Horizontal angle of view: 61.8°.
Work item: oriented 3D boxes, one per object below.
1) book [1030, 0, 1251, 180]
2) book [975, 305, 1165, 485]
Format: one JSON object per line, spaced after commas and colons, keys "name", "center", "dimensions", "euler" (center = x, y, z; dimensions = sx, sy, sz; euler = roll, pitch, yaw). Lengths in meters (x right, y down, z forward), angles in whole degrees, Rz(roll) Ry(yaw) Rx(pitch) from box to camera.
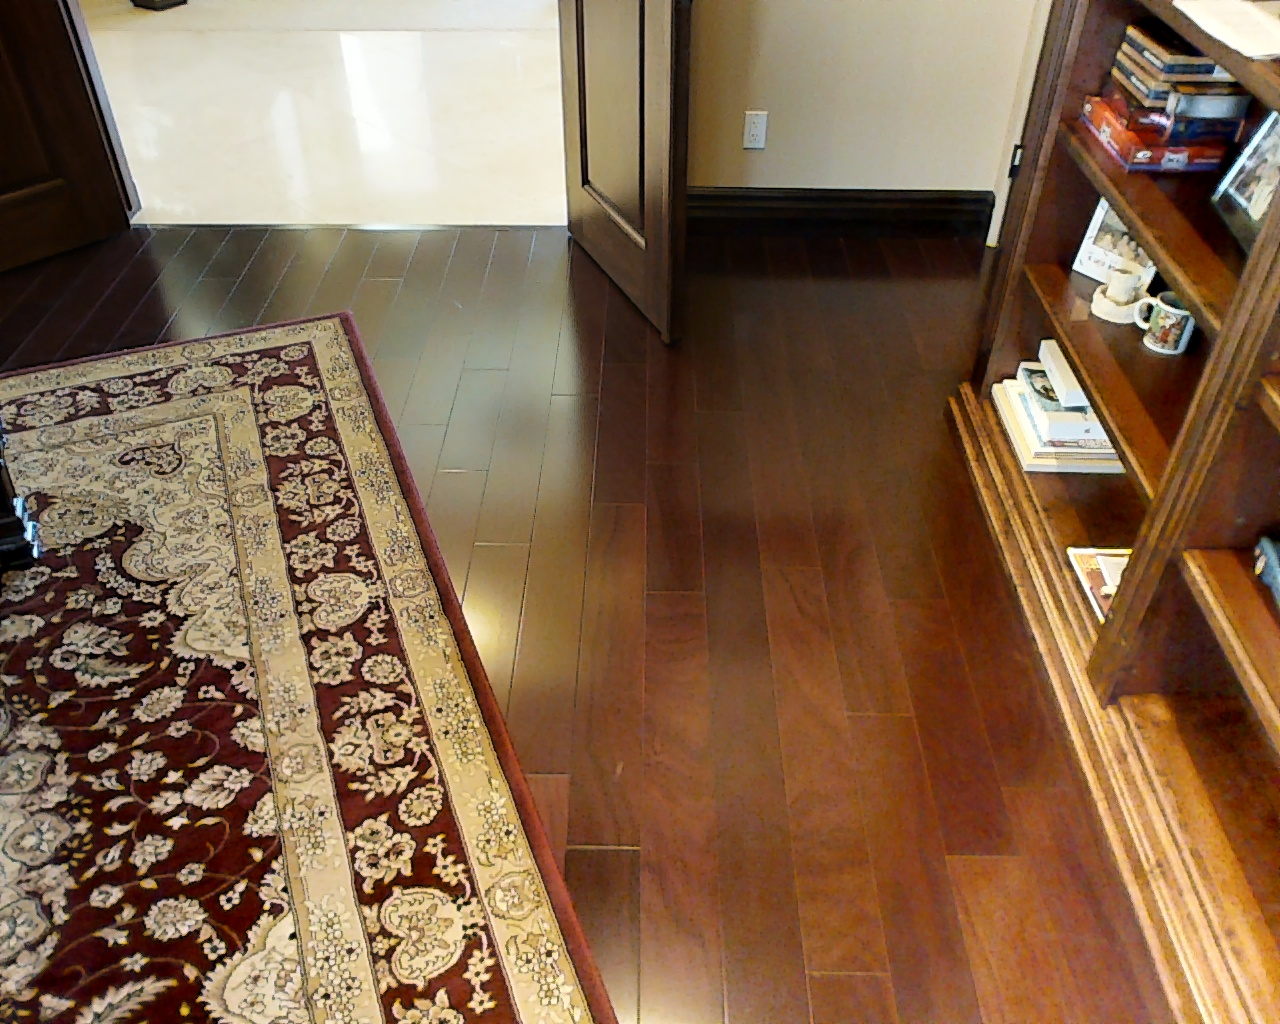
{"name": "book", "center": [0.930, -0.810, 2.030], "dimensions": [0.240, 0.250, 0.280], "euler": [0, 40, -1]}
{"name": "book", "center": [0.940, -0.270, 2.390], "dimensions": [0.240, 0.190, 0.430], "euler": [0, 40, -1]}
